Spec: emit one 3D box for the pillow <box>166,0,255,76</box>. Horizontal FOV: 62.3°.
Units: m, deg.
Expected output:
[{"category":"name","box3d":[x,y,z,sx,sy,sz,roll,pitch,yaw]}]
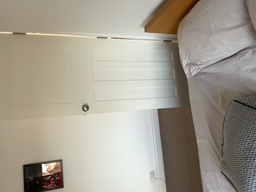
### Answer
[{"category":"pillow","box3d":[0.490,-0.390,1.360,0.590,0.160,0.390,157,109,-68]}]
